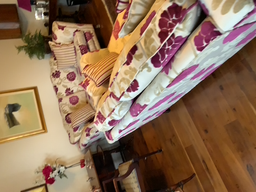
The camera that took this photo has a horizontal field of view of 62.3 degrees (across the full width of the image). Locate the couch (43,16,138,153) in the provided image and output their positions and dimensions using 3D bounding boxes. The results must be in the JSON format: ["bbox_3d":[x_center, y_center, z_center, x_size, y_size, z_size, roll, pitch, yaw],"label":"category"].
[{"bbox_3d":[-0.770,-0.240,3.670,2.030,0.900,1.020,68,152,20],"label":"couch"}]

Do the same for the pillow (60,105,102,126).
[{"bbox_3d":[-0.720,0.290,3.240,0.470,0.390,0.200,14,95,39],"label":"pillow"}]

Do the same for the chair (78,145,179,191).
[{"bbox_3d":[-0.020,1.040,2.550,0.520,0.980,0.530,69,153,18],"label":"chair"}]

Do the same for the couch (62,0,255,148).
[{"bbox_3d":[0.140,-0.440,1.680,1.100,0.920,1.860,69,153,17],"label":"couch"}]
